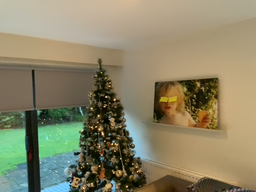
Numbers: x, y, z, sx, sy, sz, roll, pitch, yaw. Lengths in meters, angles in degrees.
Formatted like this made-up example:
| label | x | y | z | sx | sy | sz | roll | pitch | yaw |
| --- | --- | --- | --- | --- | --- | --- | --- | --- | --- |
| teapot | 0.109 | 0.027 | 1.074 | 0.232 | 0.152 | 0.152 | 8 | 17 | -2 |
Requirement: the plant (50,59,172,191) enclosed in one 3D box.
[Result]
| label | x | y | z | sx | sy | sz | roll | pitch | yaw |
| --- | --- | --- | --- | --- | --- | --- | --- | --- | --- |
| plant | -0.220 | 0.620 | 2.810 | 1.150 | 1.980 | 1.080 | -2 | 2 | -43 |
